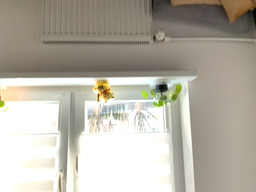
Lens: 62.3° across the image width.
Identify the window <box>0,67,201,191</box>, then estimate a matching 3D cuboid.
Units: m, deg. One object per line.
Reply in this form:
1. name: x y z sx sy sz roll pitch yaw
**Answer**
1. window: -0.360 0.460 1.260 1.530 1.240 0.140 -1 171 -1
